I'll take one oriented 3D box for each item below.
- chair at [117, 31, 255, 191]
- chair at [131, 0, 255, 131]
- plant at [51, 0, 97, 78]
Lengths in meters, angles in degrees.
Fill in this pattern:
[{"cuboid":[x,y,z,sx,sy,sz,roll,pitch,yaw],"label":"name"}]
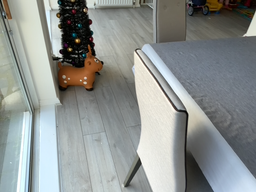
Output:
[{"cuboid":[0.330,0.280,1.090,0.630,1.040,0.480,-8,41,-16],"label":"chair"},{"cuboid":[0.470,-0.350,1.880,0.510,1.050,0.630,-24,48,-31],"label":"chair"},{"cuboid":[-0.540,-0.990,2.050,0.400,1.670,0.380,-7,41,-15],"label":"plant"}]
